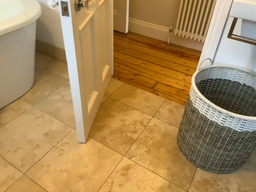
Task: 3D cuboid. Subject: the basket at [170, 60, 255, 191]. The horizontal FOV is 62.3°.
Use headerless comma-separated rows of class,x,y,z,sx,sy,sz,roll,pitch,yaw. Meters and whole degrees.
basket,0.600,0.150,1.250,0.470,0.450,0.460,24,44,23
